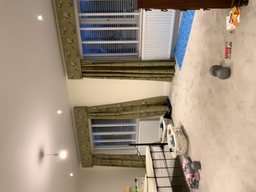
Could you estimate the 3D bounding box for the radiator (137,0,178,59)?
[{"bbox_3d":[0.540,-1.300,4.120,0.110,0.680,1.200,-94,4,-57],"label":"radiator"}]
